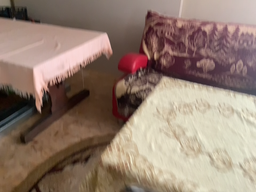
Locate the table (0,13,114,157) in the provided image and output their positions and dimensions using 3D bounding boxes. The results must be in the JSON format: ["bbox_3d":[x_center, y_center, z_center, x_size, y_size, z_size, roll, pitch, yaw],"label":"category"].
[{"bbox_3d":[-1.380,-0.350,2.280,2.180,0.760,1.100,14,34,19],"label":"table"}]
